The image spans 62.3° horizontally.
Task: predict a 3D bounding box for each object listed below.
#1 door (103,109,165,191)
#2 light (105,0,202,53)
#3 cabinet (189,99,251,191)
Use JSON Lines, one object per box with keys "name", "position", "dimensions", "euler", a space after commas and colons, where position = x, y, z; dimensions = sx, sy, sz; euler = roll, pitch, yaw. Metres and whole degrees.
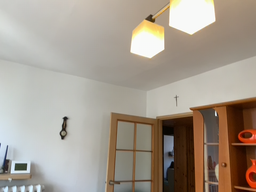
{"name": "door", "position": [0.100, 1.290, 2.860], "dimensions": [0.920, 2.120, 0.110], "euler": [11, -16, -30]}
{"name": "light", "position": [0.100, -0.470, 1.170], "dimensions": [0.260, 0.210, 0.520], "euler": [12, 26, -32]}
{"name": "cabinet", "position": [0.910, 0.650, 2.140], "dimensions": [0.340, 1.150, 0.420], "euler": [12, -17, -32]}
